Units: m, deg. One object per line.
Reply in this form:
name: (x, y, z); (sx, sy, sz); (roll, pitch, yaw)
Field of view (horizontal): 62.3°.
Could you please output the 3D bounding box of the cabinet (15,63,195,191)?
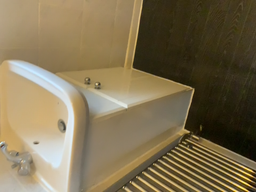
cabinet: (-0.080, 0.070, 1.200); (0.530, 0.840, 0.330); (25, 115, 34)
